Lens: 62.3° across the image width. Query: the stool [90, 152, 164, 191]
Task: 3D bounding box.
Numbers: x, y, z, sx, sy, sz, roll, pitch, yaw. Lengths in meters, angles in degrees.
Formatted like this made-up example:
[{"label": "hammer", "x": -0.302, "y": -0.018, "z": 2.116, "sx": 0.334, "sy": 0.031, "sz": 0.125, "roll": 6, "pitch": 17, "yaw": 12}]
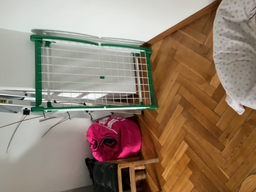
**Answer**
[{"label": "stool", "x": -0.010, "y": 0.670, "z": 1.780, "sx": 0.330, "sy": 0.490, "sz": 0.310, "roll": -17, "pitch": 75, "yaw": 53}]
